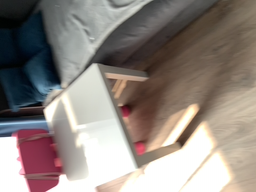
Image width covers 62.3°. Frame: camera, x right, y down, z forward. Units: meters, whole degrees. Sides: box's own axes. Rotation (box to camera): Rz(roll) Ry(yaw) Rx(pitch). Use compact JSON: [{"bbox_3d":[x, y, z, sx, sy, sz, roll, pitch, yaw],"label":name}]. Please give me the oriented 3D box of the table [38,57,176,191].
[{"bbox_3d":[-0.150,0.180,1.320,0.550,0.450,0.560,-35,69,33],"label":"table"}]
